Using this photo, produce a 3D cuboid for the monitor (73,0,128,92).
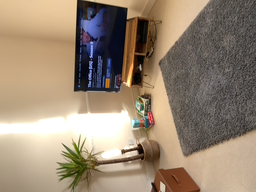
[{"bbox_3d":[-0.400,-0.680,3.050,0.070,0.700,1.240,-150,63,-64],"label":"monitor"}]
